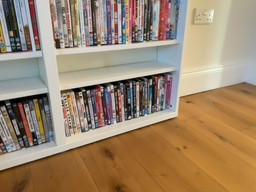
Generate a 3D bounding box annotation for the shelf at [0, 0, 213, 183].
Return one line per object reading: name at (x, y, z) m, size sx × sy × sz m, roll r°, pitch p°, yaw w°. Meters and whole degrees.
shelf at (-0.270, -0.080, 0.840) m, size 1.300 × 0.620 × 0.270 m, roll -12°, pitch 27°, yaw -27°
